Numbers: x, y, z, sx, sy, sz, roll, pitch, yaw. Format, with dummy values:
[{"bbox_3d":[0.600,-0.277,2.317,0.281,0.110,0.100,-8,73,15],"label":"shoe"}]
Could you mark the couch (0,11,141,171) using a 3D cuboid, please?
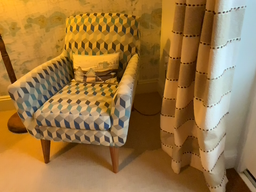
[{"bbox_3d":[-0.290,-0.100,1.580,0.720,0.850,0.860,2,32,7],"label":"couch"}]
